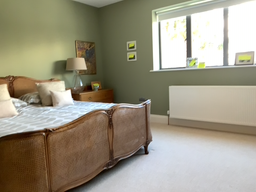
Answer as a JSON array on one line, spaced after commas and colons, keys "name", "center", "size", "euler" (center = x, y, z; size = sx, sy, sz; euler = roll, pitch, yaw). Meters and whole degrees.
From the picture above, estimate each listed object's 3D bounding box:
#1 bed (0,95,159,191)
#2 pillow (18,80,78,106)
[{"name": "bed", "center": [-1.030, 0.460, 2.720], "size": [2.160, 0.620, 1.980], "euler": [3, 9, 36]}, {"name": "pillow", "center": [-1.240, -0.070, 3.290], "size": [0.720, 0.330, 0.530], "euler": [3, 9, 36]}]
